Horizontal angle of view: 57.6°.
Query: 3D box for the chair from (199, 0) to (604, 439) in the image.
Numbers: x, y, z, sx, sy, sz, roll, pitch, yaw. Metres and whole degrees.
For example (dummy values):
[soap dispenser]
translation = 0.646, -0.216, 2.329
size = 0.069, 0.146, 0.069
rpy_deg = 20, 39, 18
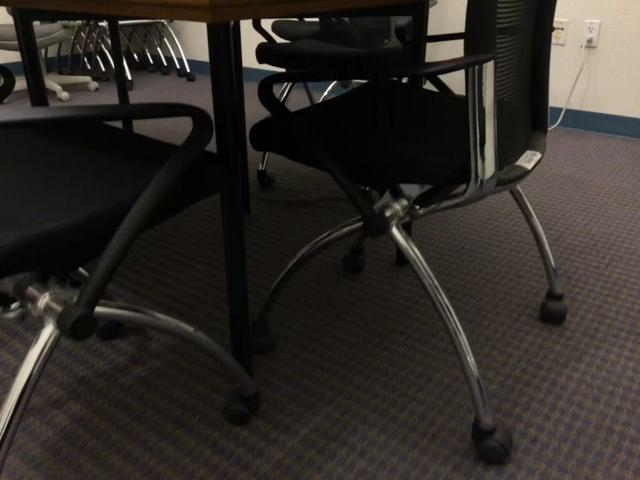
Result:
[chair]
translation = 0.170, -0.200, 1.110
size = 0.460, 0.820, 0.570
rpy_deg = 19, 34, 35
